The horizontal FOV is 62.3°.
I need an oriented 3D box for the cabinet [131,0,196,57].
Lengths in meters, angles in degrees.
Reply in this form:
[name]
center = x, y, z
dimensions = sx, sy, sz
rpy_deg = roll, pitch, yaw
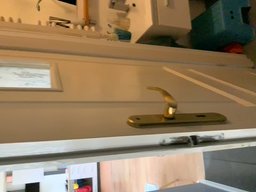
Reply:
[cabinet]
center = 0.230, -0.680, 1.590
dimensions = 0.390, 0.280, 0.650
rpy_deg = 152, 117, -66

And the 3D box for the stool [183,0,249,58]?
[stool]
center = 0.690, -0.550, 1.730
dimensions = 0.410, 0.250, 0.340
rpy_deg = 152, 117, -66

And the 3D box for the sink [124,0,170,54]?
[sink]
center = 0.110, -0.690, 1.550
dimensions = 0.390, 0.150, 0.650
rpy_deg = 152, 117, -66
